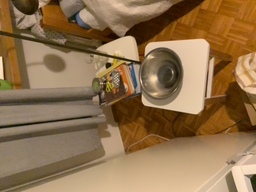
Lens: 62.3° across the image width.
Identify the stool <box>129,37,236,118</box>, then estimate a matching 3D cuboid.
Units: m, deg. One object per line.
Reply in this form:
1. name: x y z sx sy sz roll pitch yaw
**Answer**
1. stool: 0.300 -0.100 1.120 0.350 0.460 0.320 9 98 40
